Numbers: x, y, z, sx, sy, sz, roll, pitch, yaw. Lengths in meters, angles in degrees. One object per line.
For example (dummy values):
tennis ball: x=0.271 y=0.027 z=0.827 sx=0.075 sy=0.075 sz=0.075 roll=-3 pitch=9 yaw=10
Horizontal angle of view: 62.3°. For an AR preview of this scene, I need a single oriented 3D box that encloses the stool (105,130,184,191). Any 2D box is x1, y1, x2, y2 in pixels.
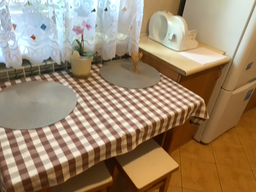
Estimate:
stool: x=0.070 y=0.520 z=1.290 sx=0.300 sy=0.480 sz=0.290 roll=-16 pitch=40 yaw=-31
